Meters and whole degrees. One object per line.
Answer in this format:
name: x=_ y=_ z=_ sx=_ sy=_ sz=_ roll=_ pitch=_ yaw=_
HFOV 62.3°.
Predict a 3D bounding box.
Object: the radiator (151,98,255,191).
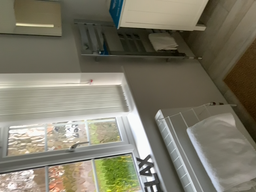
radiator: x=0.590 y=0.400 z=1.310 sx=0.140 sy=0.640 sz=0.850 roll=111 pitch=148 yaw=-47
